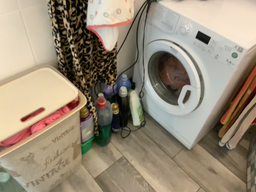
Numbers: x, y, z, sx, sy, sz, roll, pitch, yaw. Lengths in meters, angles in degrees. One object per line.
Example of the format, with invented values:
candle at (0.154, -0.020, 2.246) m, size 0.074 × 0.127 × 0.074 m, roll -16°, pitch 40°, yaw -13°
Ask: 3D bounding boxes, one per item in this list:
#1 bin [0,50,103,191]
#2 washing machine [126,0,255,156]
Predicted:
bin at (-0.460, 0.220, 1.120) m, size 0.490 × 0.720 × 0.350 m, roll -26°, pitch 48°, yaw -27°
washing machine at (0.440, -0.180, 1.420) m, size 0.650 × 0.840 × 0.550 m, roll -32°, pitch 58°, yaw -30°
